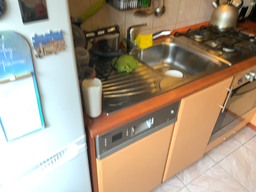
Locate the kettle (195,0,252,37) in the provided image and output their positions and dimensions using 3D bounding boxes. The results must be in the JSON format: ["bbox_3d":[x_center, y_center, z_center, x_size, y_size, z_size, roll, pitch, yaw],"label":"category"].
[{"bbox_3d":[0.730,-0.610,1.640,0.290,0.170,0.250,-20,43,-28],"label":"kettle"}]
